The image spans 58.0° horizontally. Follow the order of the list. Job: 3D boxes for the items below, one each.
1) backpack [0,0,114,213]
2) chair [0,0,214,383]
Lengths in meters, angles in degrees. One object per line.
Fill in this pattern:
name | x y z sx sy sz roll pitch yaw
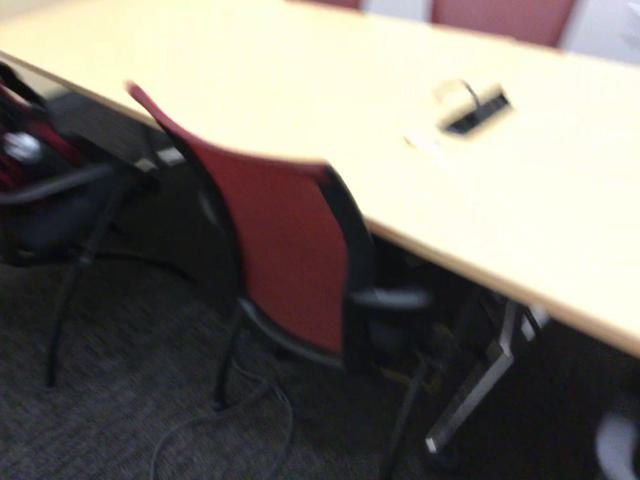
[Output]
backpack | -0.860 -0.360 1.490 0.370 0.390 0.430 -33 43 -31
chair | -0.750 -0.180 1.560 0.520 0.780 0.590 -33 43 -31
